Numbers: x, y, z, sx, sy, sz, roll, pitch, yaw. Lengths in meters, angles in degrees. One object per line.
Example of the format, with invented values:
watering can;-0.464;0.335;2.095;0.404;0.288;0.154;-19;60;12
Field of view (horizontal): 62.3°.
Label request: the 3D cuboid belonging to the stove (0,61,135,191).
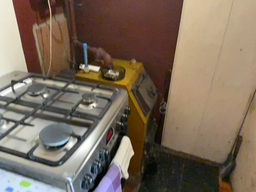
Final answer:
stove;-0.350;0.080;0.870;0.620;0.170;0.590;10;32;13
